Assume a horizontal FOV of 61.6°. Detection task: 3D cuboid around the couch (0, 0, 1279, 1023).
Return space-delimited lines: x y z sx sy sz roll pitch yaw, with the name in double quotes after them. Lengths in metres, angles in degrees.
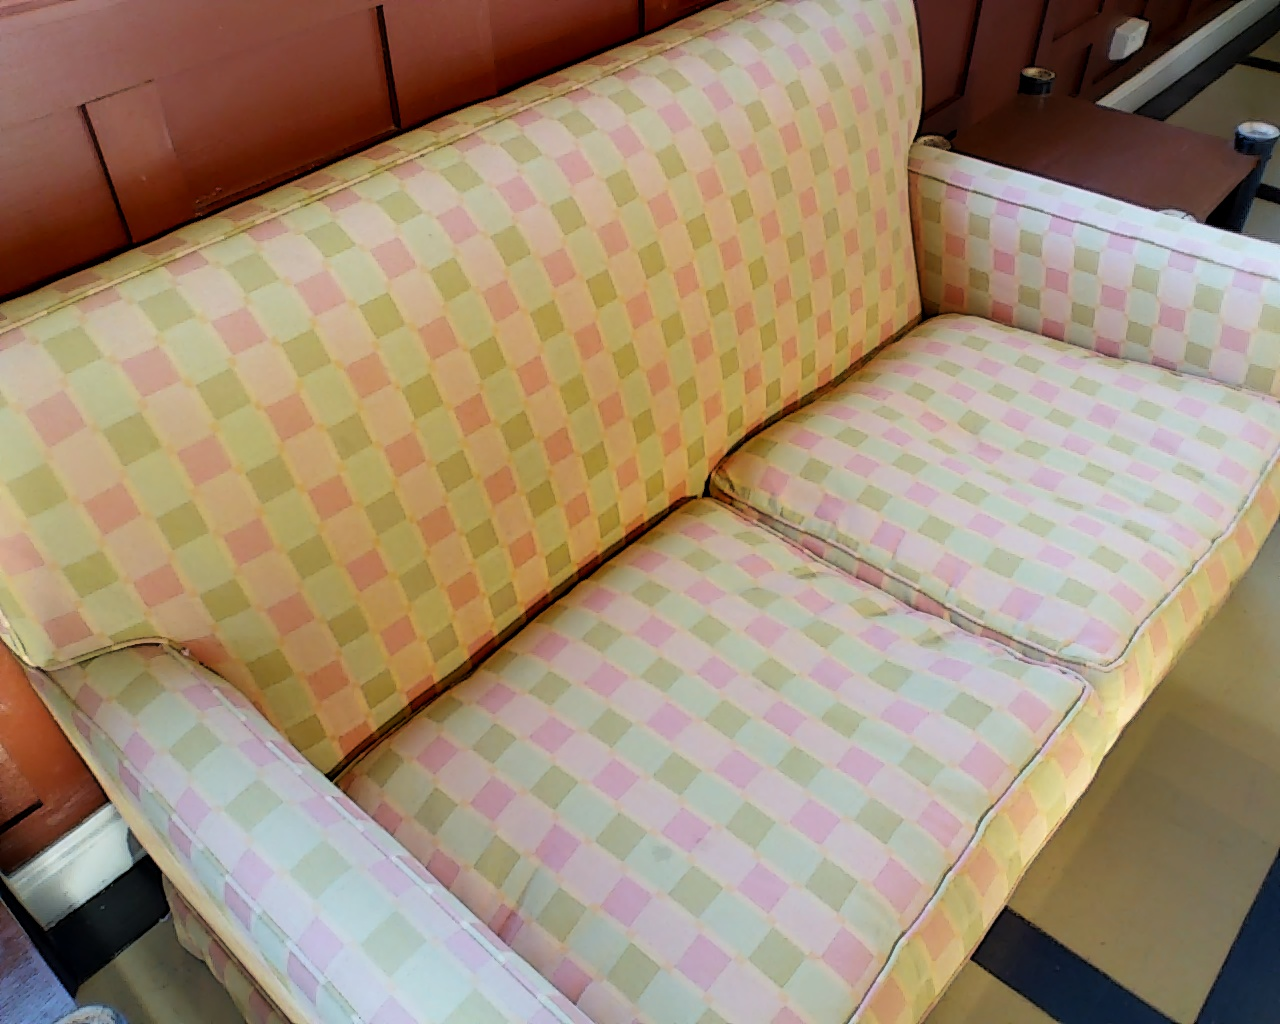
0.170 0.010 1.310 0.930 0.830 1.600 31 51 30 "couch"
